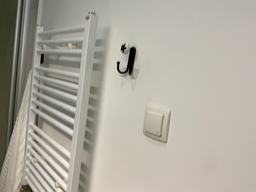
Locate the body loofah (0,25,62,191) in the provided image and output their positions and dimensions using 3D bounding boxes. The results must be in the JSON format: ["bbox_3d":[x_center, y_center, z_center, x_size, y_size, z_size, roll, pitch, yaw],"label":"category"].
[{"bbox_3d":[-0.670,0.500,1.230,0.210,1.690,0.490,3,7,-41],"label":"body loofah"}]
